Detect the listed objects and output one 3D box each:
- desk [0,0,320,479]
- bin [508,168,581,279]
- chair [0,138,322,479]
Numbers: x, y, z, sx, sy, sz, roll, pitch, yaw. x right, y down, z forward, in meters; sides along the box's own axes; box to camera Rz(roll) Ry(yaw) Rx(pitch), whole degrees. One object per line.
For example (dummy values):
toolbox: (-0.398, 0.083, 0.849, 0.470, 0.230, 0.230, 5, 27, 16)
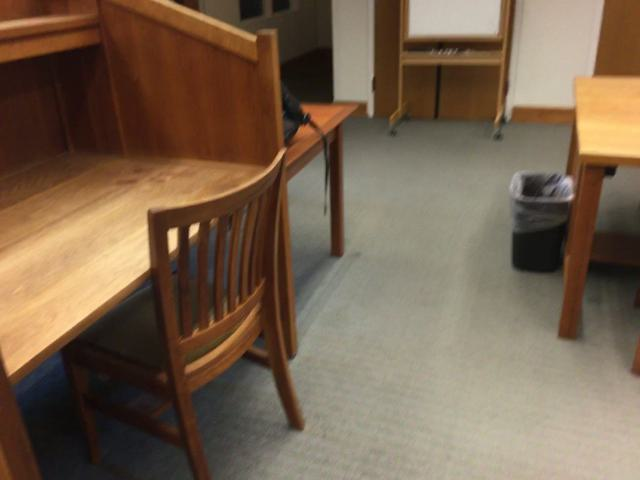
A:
desk: (-0.710, -0.010, 1.620, 0.950, 1.410, 1.200, 6, 26, 21)
bin: (1.050, -0.090, 2.700, 0.270, 0.390, 0.360, 6, 26, 21)
chair: (-0.430, 0.230, 1.650, 0.640, 0.890, 0.580, 6, 26, 22)
